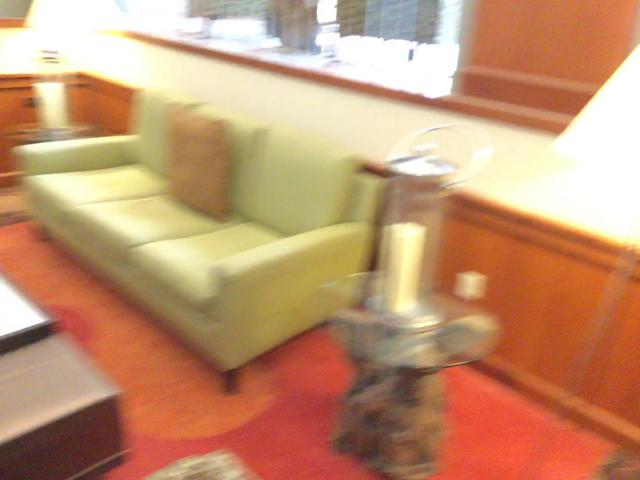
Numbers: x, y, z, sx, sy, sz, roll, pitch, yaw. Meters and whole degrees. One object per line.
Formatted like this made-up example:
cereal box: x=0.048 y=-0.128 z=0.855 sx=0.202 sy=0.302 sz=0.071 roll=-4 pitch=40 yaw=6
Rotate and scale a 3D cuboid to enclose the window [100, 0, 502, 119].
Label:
window: x=-0.360 y=-1.280 z=3.510 sx=2.830 sy=0.370 sz=0.580 roll=27 pitch=30 yaw=36
